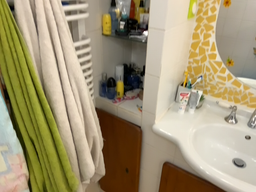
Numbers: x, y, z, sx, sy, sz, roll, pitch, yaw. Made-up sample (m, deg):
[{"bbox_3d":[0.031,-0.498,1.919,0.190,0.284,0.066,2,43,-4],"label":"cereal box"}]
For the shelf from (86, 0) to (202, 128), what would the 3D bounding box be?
[{"bbox_3d":[0.090,-0.490,0.970,0.400,1.170,0.390,20,35,28],"label":"shelf"}]

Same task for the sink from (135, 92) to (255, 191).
[{"bbox_3d":[0.450,0.260,1.020,0.650,0.190,0.520,20,35,28],"label":"sink"}]

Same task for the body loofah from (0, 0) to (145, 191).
[{"bbox_3d":[-0.250,0.080,0.780,0.290,1.280,0.630,21,35,29],"label":"body loofah"}]
